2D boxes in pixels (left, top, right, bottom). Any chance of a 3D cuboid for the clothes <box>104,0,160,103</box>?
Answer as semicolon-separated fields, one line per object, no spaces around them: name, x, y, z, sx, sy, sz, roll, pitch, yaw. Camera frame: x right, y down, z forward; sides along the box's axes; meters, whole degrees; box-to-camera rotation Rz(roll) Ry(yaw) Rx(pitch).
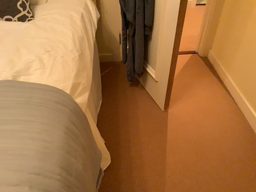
clothes;0.000;-0.660;1.260;0.160;1.490;0.470;-18;46;-18
